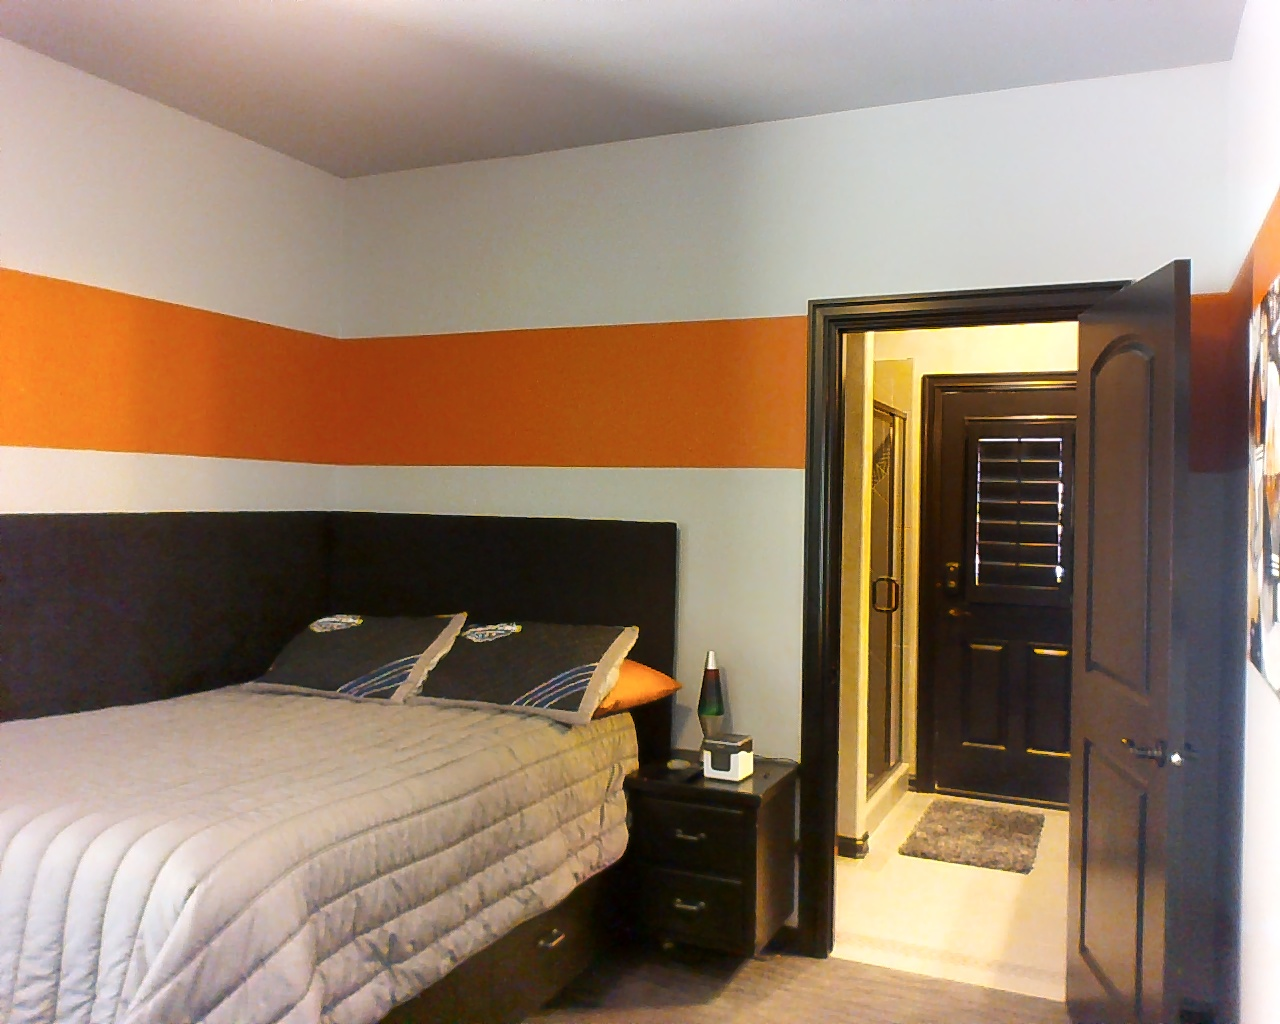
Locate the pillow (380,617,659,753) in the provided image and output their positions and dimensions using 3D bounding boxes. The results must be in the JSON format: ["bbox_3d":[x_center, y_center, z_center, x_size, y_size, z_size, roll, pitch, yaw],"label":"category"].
[{"bbox_3d":[-0.370,0.550,3.390,0.700,0.200,0.510,1,-30,25],"label":"pillow"}]

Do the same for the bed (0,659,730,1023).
[{"bbox_3d":[-0.930,0.990,2.950,1.680,0.810,2.220,1,-1,25],"label":"bed"}]
